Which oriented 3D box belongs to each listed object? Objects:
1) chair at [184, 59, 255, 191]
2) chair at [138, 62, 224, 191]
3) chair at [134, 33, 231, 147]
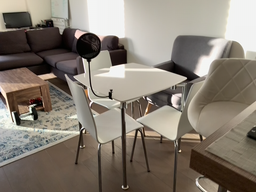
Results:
[{"bbox_3d":[0.590,0.360,1.240,0.380,1.030,0.420,12,26,26],"label":"chair"},{"bbox_3d":[0.390,0.230,1.720,0.470,0.880,0.390,20,31,39],"label":"chair"},{"bbox_3d":[0.560,-0.130,2.400,0.640,1.000,0.730,-19,30,-37],"label":"chair"}]
